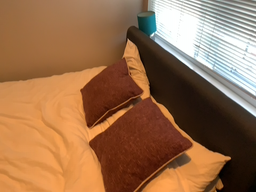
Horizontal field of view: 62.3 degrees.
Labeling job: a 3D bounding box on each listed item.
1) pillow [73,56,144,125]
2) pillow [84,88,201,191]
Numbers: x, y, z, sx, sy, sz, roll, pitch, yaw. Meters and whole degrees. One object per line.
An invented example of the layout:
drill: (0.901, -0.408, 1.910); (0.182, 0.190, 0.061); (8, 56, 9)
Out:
pillow: (-0.160, -0.070, 1.590); (0.390, 0.230, 0.490); (-12, 36, -17)
pillow: (0.040, 0.210, 1.100); (0.410, 0.220, 0.470); (-13, 36, -18)
